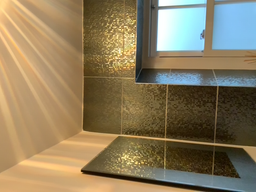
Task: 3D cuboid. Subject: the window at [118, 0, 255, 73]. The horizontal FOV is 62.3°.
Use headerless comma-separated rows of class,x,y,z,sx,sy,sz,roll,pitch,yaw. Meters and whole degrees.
window,0.610,-0.650,1.660,0.350,1.310,0.910,-16,-71,-75
